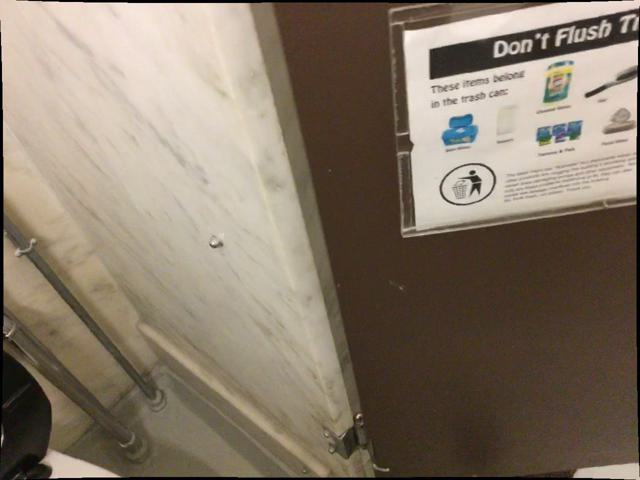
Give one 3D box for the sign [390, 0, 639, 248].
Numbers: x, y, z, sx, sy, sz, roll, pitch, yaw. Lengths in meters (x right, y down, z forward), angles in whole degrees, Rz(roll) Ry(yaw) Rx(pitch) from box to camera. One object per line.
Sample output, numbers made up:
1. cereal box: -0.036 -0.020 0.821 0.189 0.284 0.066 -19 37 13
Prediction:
1. sign: 0.230 -0.100 0.500 0.330 0.250 0.020 -7 49 3
